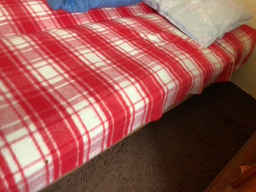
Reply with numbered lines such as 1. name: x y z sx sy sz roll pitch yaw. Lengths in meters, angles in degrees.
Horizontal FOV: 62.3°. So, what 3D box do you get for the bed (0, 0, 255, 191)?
1. bed: -0.270 -0.270 1.190 1.980 0.390 1.220 -24 57 -36
